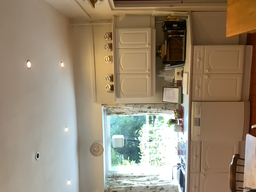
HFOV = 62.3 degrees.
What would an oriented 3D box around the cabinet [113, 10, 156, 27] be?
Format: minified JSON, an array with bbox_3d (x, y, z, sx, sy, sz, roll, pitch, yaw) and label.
[{"bbox_3d":[0.100,-1.230,3.370,0.180,0.660,0.230,-90,0,-82],"label":"cabinet"}]

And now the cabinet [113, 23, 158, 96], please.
[{"bbox_3d":[0.110,-0.560,3.390,0.330,0.680,1.100,-90,0,-82],"label":"cabinet"}]

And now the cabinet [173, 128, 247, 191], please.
[{"bbox_3d":[1.280,1.630,3.550,0.610,0.910,2.060,-90,0,-82],"label":"cabinet"}]

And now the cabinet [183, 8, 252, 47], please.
[{"bbox_3d":[1.330,-1.030,3.250,0.450,0.830,0.490,-90,0,-82],"label":"cabinet"}]
